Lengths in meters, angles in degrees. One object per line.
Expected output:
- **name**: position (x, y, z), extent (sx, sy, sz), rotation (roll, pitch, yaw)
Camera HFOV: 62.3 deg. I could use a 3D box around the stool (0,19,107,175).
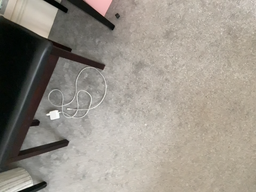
- **stool**: position (-0.450, 0.020, 1.110), extent (0.240, 0.520, 0.610), rotation (28, 98, 19)
